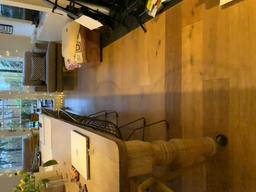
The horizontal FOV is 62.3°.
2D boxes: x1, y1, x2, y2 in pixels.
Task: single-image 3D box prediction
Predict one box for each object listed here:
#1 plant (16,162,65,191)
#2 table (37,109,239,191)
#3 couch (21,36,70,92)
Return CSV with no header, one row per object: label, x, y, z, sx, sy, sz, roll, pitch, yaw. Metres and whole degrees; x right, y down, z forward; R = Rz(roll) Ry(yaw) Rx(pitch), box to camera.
plant,-0.700,0.680,1.660,0.460,0.300,0.190,-8,83,60
table,-0.310,0.670,2.000,2.390,0.740,0.980,-2,88,60
couch,-1.720,-0.580,4.380,0.860,0.830,0.980,0,90,60
